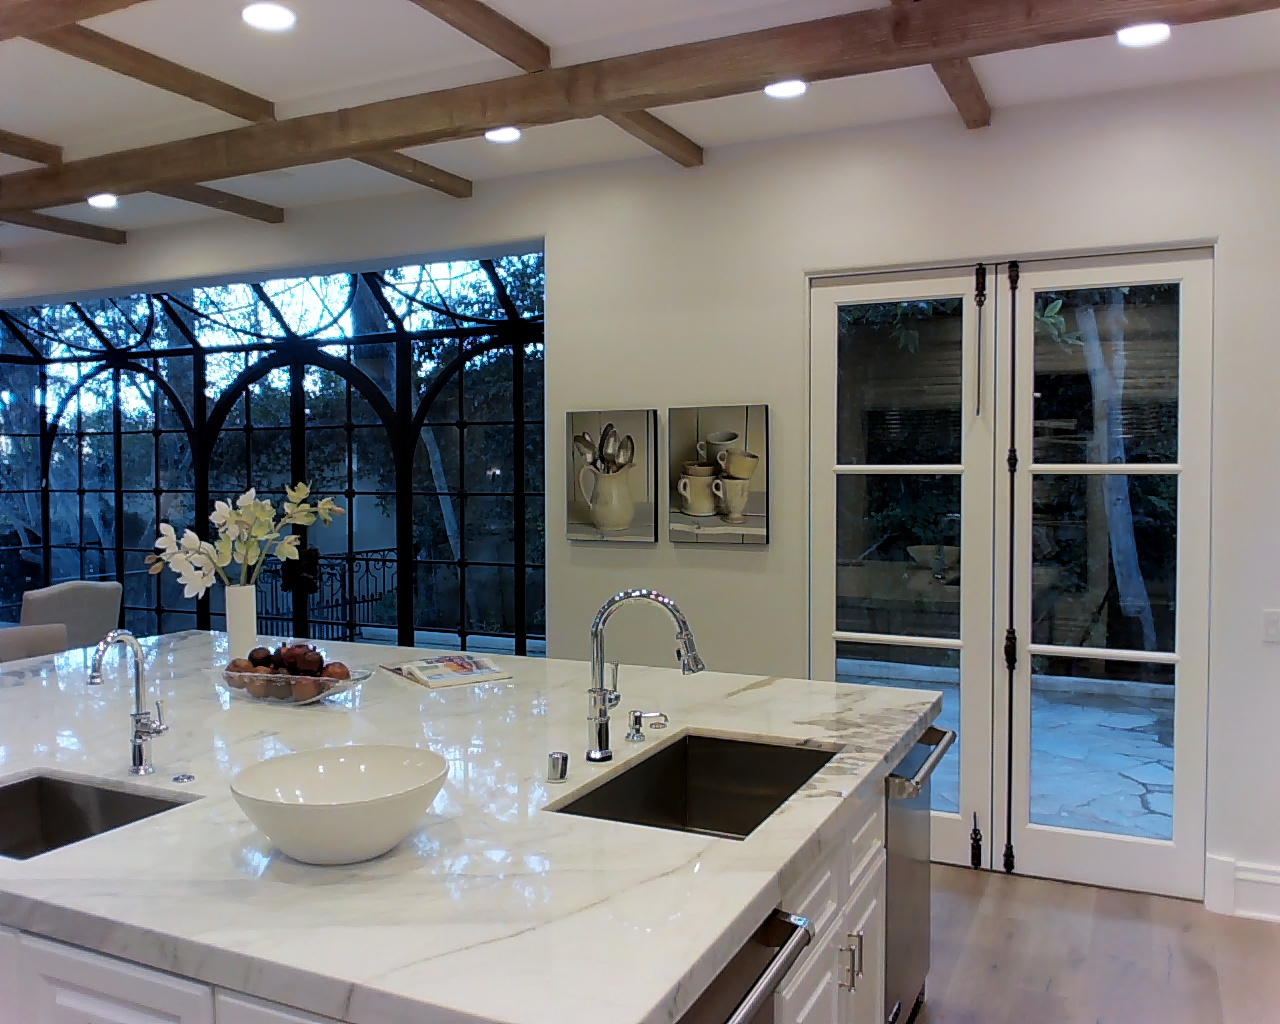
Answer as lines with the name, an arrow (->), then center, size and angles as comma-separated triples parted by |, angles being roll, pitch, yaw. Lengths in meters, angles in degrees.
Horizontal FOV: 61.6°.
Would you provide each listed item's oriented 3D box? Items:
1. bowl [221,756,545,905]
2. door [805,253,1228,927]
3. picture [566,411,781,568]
bowl -> -0.470, 0.580, 2.020 | 0.430, 0.100, 0.410 | 1, 2, 25
door -> 1.420, 0.280, 4.230 | 1.540, 2.421, 0.130 | 1, 2, 25
picture -> 0.130, -0.100, 4.760 | 1.020, 0.660, 0.050 | 1, 2, 26
